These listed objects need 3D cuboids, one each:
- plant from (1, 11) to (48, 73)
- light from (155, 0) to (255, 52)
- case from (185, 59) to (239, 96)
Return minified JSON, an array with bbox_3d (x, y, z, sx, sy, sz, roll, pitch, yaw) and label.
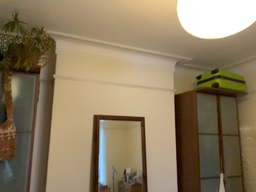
[{"bbox_3d":[-0.980,-0.490,2.030,0.330,0.400,0.390,6,-11,-25],"label":"plant"},{"bbox_3d":[0.570,-0.630,1.360,0.510,0.400,0.620,7,-12,-28],"label":"light"},{"bbox_3d":[1.270,-0.250,3.230,0.640,0.390,0.440,6,-12,-28],"label":"case"}]
